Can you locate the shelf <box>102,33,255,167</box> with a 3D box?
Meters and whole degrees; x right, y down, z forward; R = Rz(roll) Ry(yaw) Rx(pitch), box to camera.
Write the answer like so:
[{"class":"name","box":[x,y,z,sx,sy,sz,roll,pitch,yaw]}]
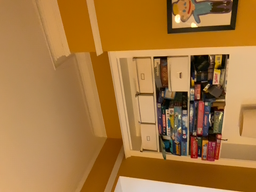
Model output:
[{"class":"shelf","box":[0.760,0.080,2.160,0.340,1.830,1.290,-65,-28,-56]}]
